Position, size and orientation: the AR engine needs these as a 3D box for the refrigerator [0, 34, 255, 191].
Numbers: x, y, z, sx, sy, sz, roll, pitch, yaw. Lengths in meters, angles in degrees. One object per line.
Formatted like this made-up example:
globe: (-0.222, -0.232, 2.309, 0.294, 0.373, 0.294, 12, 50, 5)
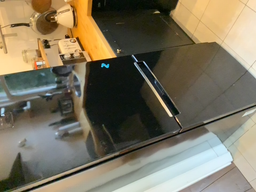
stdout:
refrigerator: (-0.070, 0.140, 1.410, 0.590, 1.850, 0.680, 59, 150, 32)
